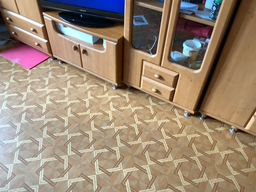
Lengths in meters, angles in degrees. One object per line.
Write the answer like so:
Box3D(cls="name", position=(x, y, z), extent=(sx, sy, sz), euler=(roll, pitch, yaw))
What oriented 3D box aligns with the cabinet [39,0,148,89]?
Box3D(cls="cabinet", position=(-0.310, -0.570, 2.060), extent=(0.780, 0.540, 0.550), euler=(26, 48, 21))
